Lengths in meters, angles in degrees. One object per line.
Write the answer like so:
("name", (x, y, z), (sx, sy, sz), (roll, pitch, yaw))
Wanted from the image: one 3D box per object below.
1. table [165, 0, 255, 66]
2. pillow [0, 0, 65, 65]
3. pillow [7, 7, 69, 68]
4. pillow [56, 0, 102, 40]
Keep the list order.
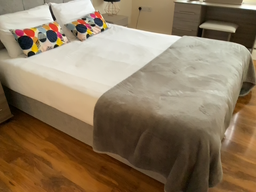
("table", (1.220, -1.010, 3.150), (1.180, 0.780, 0.420), (19, 37, 26))
("pillow", (-0.940, -0.680, 2.120), (0.160, 0.400, 0.600), (23, 62, 17))
("pillow", (-0.850, -0.590, 2.090), (0.150, 0.260, 0.600), (20, 56, 17))
("pillow", (-0.570, -1.040, 2.600), (0.140, 0.360, 0.600), (26, 65, 18))
